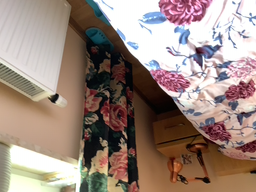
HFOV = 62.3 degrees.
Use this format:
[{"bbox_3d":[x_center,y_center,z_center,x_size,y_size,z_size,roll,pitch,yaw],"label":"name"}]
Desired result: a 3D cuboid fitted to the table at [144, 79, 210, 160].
[{"bbox_3d":[0.460,0.240,2.060,0.430,0.590,0.390,-19,144,23],"label":"table"}]
